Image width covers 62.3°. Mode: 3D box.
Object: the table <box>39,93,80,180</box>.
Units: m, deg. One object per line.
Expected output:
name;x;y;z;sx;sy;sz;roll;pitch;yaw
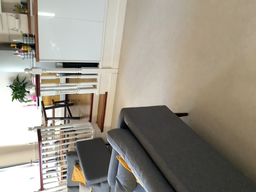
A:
table;-1.760;1.000;5.320;0.890;0.760;1.950;51;136;49

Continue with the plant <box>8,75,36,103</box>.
plant;-2.750;-0.200;5.530;0.380;0.610;0.590;47;134;51
